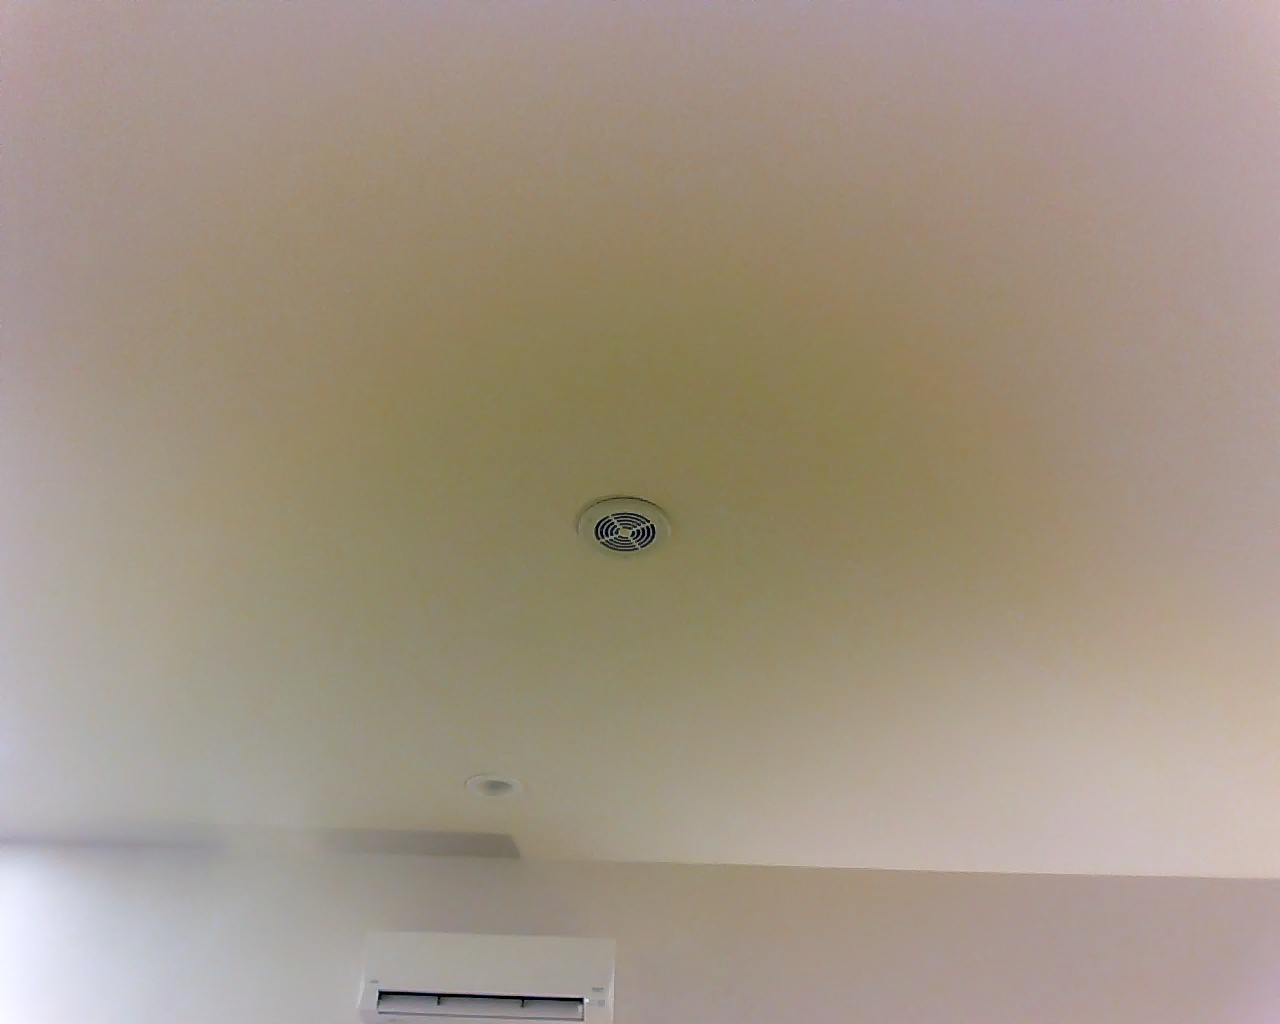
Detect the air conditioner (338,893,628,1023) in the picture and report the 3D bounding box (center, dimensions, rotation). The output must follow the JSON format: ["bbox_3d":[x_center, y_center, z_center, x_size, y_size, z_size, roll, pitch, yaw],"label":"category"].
[{"bbox_3d":[-0.500,1.540,3.610,0.900,0.410,0.230,2,-41,-1],"label":"air conditioner"}]
